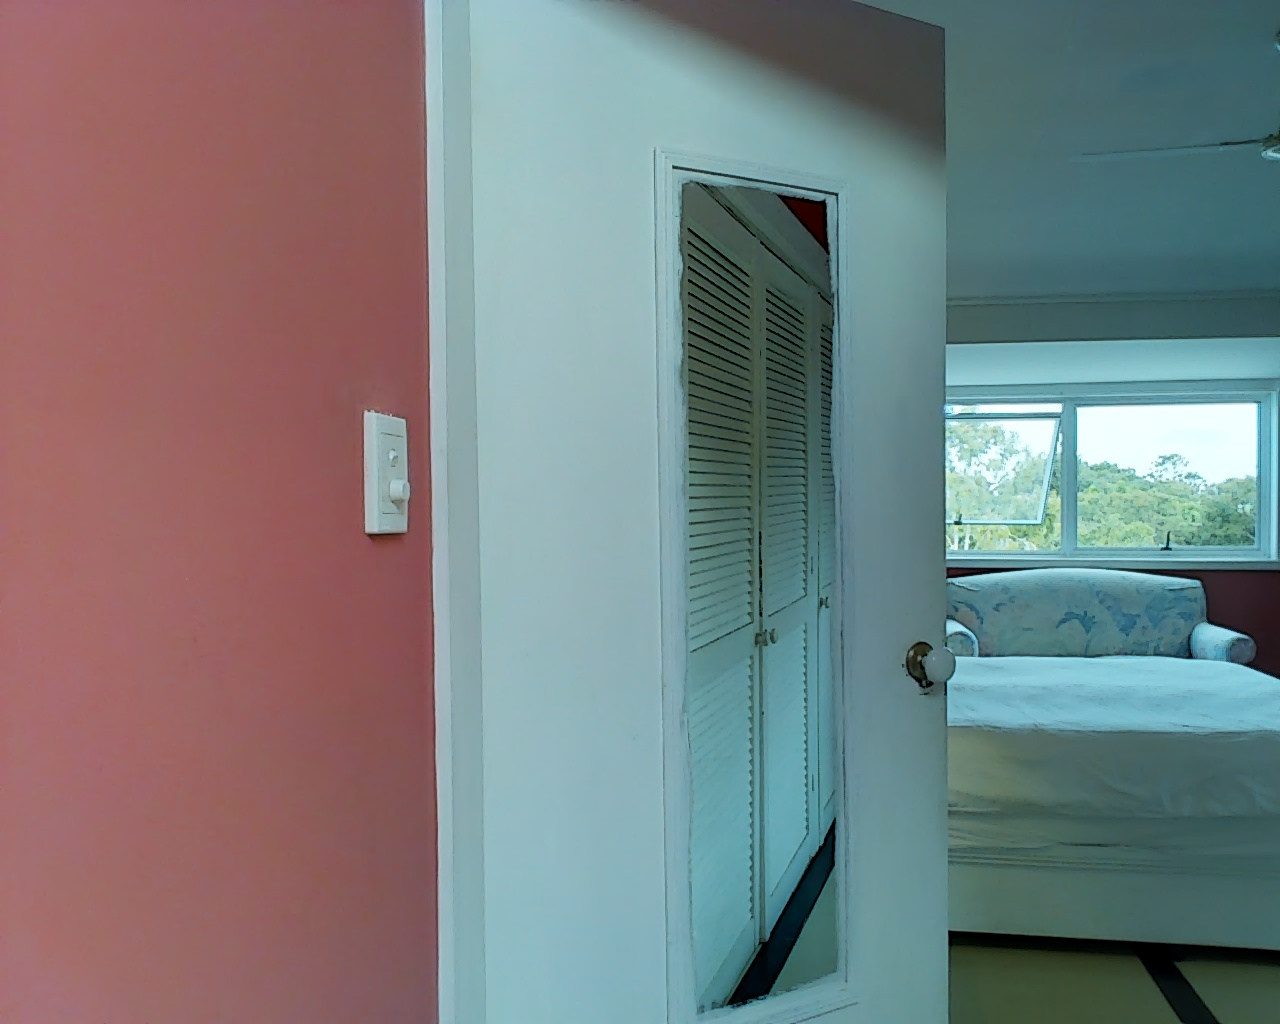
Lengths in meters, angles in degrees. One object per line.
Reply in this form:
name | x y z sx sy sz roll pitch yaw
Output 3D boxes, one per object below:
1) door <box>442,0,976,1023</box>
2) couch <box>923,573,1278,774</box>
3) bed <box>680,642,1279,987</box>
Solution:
door | 0.150 0.230 1.570 0.850 2.101 0.090 -2 2 -30
couch | 2.279 0.780 5.550 1.510 0.850 0.920 0 2 10
bed | 1.320 0.920 3.770 2.139 0.660 1.640 0 2 10
